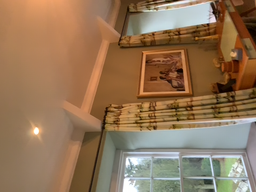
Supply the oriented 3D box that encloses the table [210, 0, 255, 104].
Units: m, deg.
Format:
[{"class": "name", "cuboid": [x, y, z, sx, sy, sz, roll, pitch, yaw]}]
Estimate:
[{"class": "table", "cuboid": [1.620, -0.690, 2.780, 0.750, 0.740, 1.420, 75, -163, -46]}]
